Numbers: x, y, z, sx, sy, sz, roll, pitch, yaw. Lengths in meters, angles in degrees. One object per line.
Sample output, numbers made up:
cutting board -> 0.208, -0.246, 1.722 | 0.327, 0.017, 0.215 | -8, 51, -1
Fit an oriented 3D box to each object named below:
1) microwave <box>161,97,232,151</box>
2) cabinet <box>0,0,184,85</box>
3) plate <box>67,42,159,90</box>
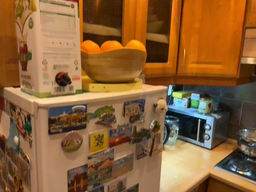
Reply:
microwave -> 0.570, 0.210, 1.810 | 0.460, 0.290, 0.310 | 13, 15, 43
cabinet -> -0.200, -0.490, 1.010 | 1.200, 0.780, 0.310 | -8, 15, -43
plate -> -0.060, -0.120, 0.790 | 0.260, 0.140, 0.220 | 13, 16, 43
